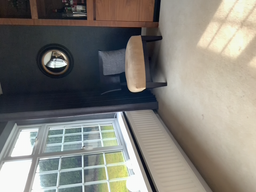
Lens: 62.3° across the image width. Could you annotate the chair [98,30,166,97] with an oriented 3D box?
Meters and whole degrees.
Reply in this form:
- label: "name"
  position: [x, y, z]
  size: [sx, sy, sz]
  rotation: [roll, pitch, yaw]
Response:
- label: "chair"
  position: [0.000, -0.410, 3.060]
  size: [0.880, 0.750, 0.740]
  rotation: [153, 113, -77]
